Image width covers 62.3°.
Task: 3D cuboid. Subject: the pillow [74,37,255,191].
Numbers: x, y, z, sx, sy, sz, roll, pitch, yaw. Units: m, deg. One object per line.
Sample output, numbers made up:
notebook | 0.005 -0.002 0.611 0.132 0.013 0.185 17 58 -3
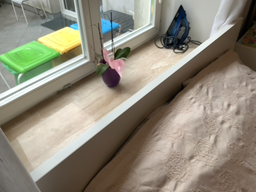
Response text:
pillow | 0.470 0.150 1.140 0.490 0.320 1.480 27 47 28

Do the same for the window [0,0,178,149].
window | -0.380 -0.970 0.990 0.420 2.180 1.970 31 49 31
